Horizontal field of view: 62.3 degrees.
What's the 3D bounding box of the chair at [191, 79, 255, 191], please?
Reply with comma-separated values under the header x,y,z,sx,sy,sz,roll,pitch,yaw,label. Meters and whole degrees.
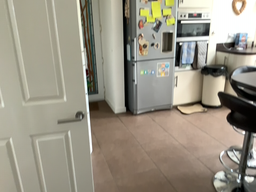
x,y,z,sx,sy,sz,roll,pitch,yaw,label
0.890,0.370,1.660,0.480,0.860,0.530,-7,20,-16,chair
